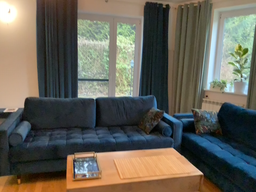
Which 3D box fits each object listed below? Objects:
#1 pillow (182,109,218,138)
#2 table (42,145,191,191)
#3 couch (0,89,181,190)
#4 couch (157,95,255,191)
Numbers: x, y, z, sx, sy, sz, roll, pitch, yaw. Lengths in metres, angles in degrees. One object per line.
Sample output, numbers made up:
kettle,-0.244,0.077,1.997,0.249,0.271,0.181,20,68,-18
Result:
pillow,1.030,0.380,3.030,0.390,0.330,0.250,-1,10,-23
table,-0.130,0.850,2.030,1.220,0.480,0.630,0,10,-16
couch,-0.560,0.450,3.010,2.210,0.950,1.110,0,10,-17
couch,1.330,0.650,2.420,1.080,0.920,2.430,0,10,-15
